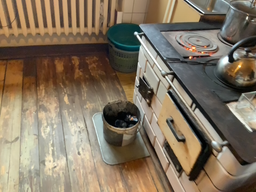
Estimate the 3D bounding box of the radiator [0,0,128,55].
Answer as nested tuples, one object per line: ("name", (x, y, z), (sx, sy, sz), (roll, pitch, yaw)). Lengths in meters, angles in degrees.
("radiator", (-0.750, -0.800, 2.100), (1.500, 0.690, 0.190), (-9, 45, -21))
